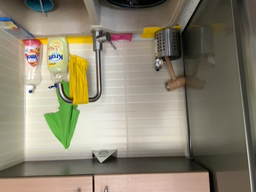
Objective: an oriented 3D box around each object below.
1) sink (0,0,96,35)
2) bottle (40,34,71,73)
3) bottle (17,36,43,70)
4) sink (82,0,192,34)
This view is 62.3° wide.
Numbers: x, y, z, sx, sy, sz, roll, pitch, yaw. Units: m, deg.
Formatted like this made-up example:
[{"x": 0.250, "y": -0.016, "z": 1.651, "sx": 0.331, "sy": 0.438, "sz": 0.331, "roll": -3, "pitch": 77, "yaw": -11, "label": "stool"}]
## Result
[{"x": -0.340, "y": -0.410, "z": 0.810, "sx": 0.360, "sy": 0.180, "sz": 0.450, "roll": -2, "pitch": 175, "yaw": 0, "label": "sink"}, {"x": -0.360, "y": -0.210, "z": 1.060, "sx": 0.130, "sy": 0.170, "sz": 0.070, "roll": -2, "pitch": 175, "yaw": 1, "label": "bottle"}, {"x": -0.480, "y": -0.210, "z": 1.040, "sx": 0.110, "sy": 0.150, "sz": 0.040, "roll": -2, "pitch": 175, "yaw": 0, "label": "bottle"}, {"x": 0.030, "y": -0.410, "z": 0.800, "sx": 0.380, "sy": 0.170, "sz": 0.460, "roll": -2, "pitch": 175, "yaw": 0, "label": "sink"}]
